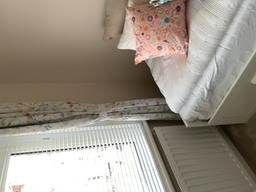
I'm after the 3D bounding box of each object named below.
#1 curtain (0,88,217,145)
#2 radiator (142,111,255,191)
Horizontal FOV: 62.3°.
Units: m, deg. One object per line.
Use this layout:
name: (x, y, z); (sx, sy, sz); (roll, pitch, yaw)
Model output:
curtain: (-0.470, 0.140, 1.680); (0.360, 2.520, 0.180); (-113, 28, -48)
radiator: (0.690, 0.590, 1.570); (1.190, 0.820, 0.150); (-113, 28, -48)
